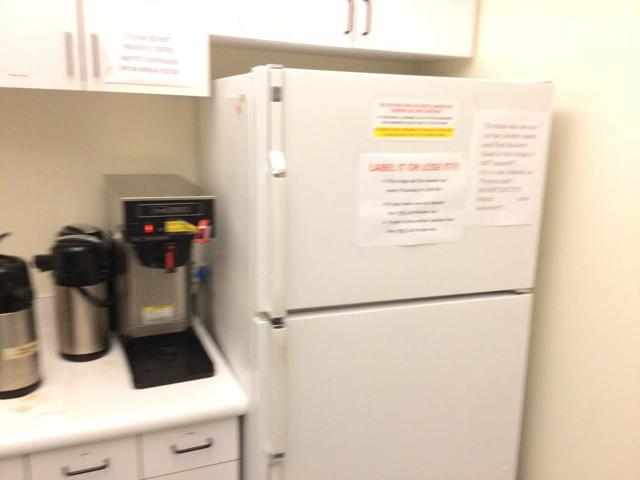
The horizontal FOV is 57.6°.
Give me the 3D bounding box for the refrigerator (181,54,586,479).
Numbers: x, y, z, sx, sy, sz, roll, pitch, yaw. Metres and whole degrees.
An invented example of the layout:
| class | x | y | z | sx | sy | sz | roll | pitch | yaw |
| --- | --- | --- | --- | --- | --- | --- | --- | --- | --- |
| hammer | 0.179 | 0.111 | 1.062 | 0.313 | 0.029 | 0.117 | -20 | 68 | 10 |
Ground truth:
| class | x | y | z | sx | sy | sz | roll | pitch | yaw |
| --- | --- | --- | --- | --- | --- | --- | --- | --- | --- |
| refrigerator | 0.090 | 0.340 | 1.760 | 0.820 | 1.620 | 0.770 | -4 | 14 | -24 |
